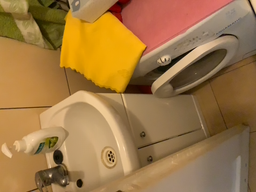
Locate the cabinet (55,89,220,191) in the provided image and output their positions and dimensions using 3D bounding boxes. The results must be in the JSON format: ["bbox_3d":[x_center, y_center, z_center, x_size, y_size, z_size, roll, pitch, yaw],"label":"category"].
[{"bbox_3d":[0.120,0.210,0.950,0.230,0.780,0.410,-24,75,36],"label":"cabinet"}]

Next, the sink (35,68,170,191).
[{"bbox_3d":[-0.090,0.180,0.620,0.330,0.140,0.410,-24,75,36],"label":"sink"}]
